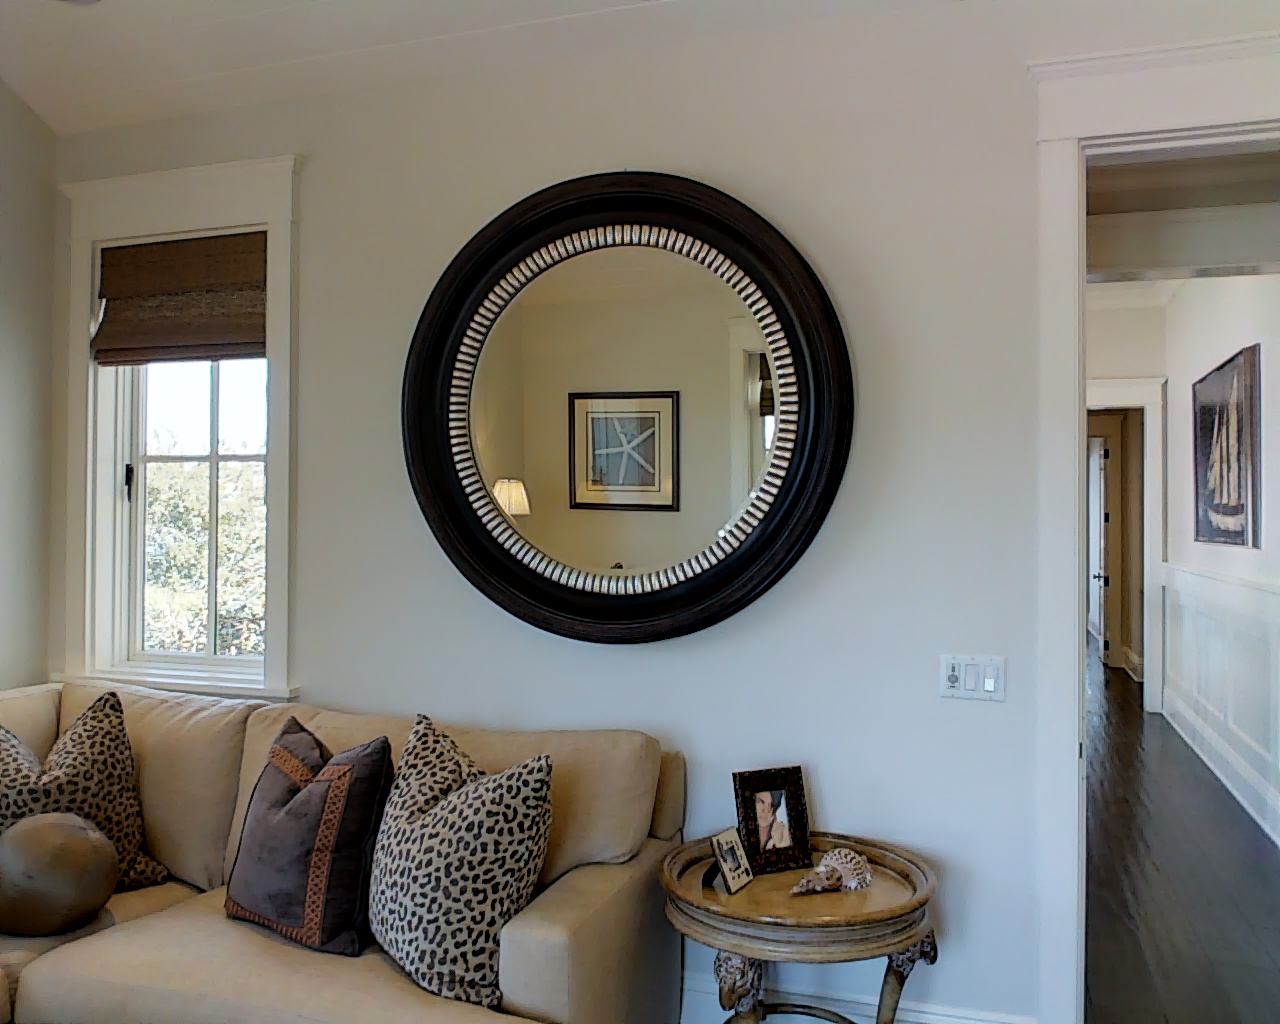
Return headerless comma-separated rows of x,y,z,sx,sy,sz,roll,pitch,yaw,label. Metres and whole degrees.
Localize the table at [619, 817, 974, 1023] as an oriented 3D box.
0.410,1.191,2.580,0.730,0.660,0.690,0,0,19,table
